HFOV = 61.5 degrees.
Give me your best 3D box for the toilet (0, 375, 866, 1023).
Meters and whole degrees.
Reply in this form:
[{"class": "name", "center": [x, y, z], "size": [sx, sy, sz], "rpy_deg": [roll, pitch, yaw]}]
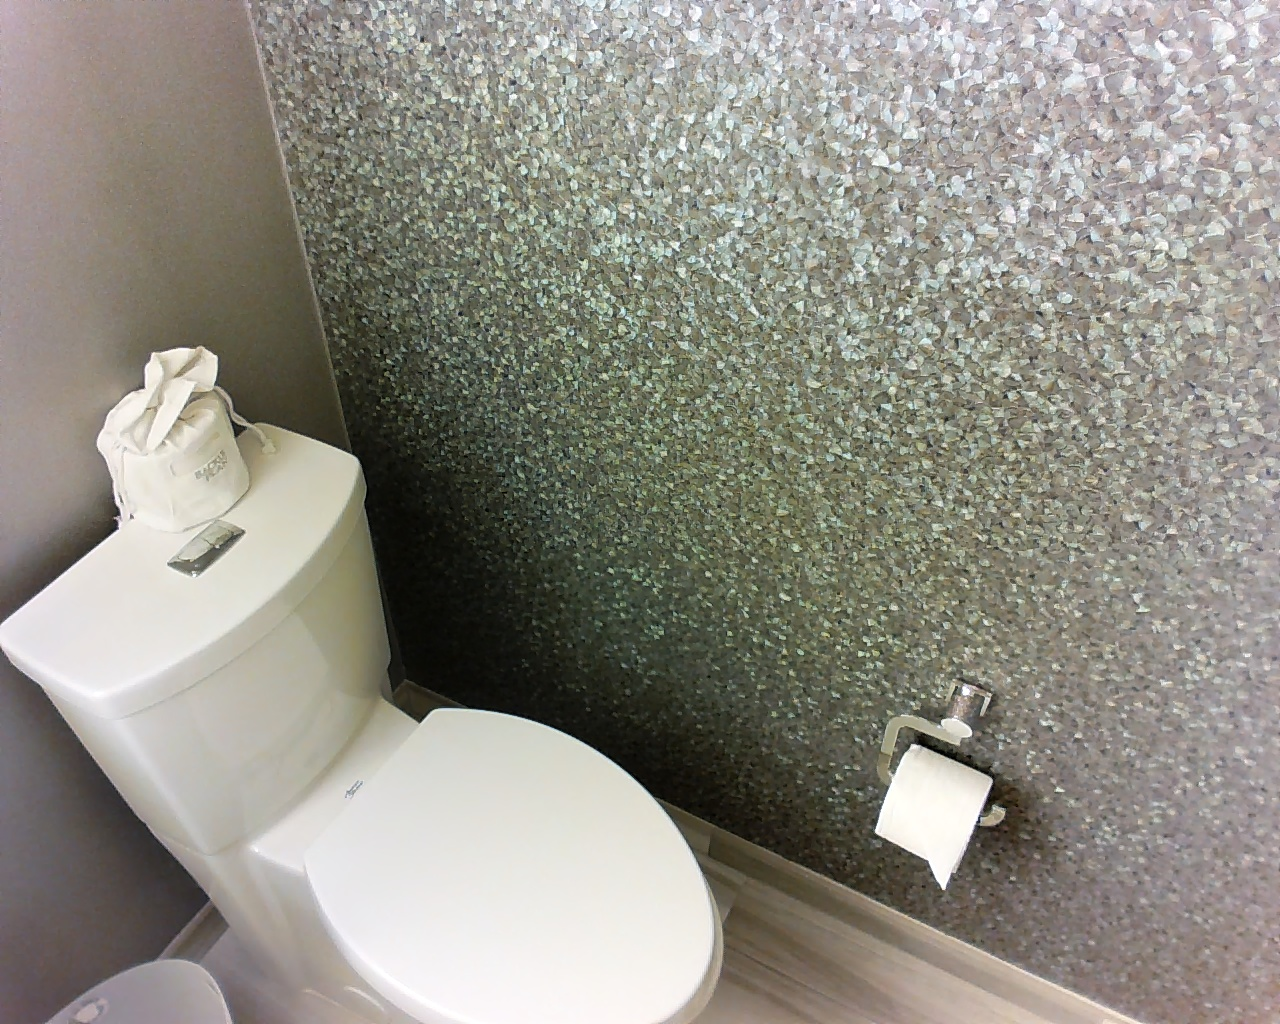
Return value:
[{"class": "toilet", "center": [-0.230, 0.400, 1.370], "size": [0.790, 0.820, 0.500], "rpy_deg": [20, 47, 21]}]
